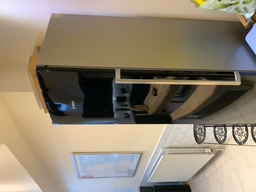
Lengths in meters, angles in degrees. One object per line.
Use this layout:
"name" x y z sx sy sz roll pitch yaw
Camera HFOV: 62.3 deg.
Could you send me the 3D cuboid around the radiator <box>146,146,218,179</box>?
"radiator" 0.750 1.050 3.240 1.120 0.750 0.110 101 169 -53
